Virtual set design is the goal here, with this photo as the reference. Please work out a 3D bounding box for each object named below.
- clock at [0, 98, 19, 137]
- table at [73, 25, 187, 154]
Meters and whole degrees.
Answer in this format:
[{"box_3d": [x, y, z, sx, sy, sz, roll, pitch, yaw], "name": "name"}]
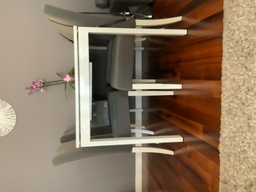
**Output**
[{"box_3d": [-1.520, 0.250, 2.440, 0.080, 0.440, 0.440, -145, 55, -77], "name": "clock"}, {"box_3d": [-0.090, -0.100, 2.040, 1.240, 0.760, 0.830, -154, 63, -77], "name": "table"}]
